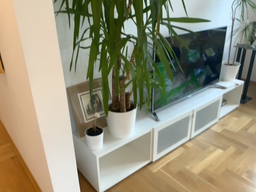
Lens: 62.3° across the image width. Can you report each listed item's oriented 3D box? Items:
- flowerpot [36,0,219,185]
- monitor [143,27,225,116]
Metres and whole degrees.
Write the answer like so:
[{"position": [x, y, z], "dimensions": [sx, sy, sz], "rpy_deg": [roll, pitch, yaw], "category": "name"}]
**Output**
[{"position": [-0.020, -0.600, 1.470], "dimensions": [0.880, 1.950, 0.890], "rpy_deg": [-20, 31, -36], "category": "flowerpot"}, {"position": [0.650, -0.320, 2.310], "dimensions": [1.240, 0.720, 0.090], "rpy_deg": [-20, 31, -36], "category": "monitor"}]
